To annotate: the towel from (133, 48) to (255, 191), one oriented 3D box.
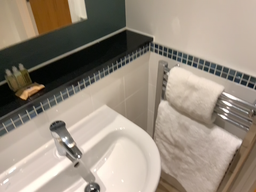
[{"bbox_3d":[0.270,0.210,1.110,0.460,0.780,0.200,30,49,34],"label":"towel"}]
